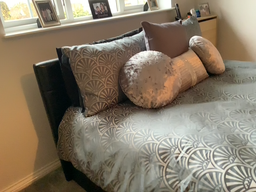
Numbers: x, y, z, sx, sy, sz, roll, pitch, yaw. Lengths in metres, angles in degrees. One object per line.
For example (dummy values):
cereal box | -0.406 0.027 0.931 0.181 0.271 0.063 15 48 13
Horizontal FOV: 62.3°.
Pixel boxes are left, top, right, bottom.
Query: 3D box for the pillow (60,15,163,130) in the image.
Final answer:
pillow | -0.050 -0.160 1.280 0.190 0.460 0.540 14 42 40

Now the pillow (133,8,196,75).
pillow | 0.270 -0.380 1.440 0.170 0.270 0.460 14 42 40
